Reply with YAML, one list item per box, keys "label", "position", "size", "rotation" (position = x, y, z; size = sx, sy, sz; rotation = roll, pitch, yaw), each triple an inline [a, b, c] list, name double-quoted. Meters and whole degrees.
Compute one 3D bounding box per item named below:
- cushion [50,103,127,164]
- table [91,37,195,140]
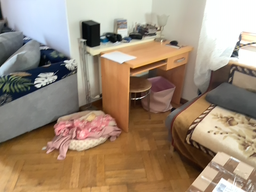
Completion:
- label: "cushion"
  position: [-0.400, 0.340, 2.190]
  size: [0.550, 0.180, 0.550]
  rotation: [-23, 37, -39]
- label: "table"
  position: [0.180, -0.170, 2.550]
  size: [1.020, 0.820, 0.630]
  rotation: [-23, 37, -39]
